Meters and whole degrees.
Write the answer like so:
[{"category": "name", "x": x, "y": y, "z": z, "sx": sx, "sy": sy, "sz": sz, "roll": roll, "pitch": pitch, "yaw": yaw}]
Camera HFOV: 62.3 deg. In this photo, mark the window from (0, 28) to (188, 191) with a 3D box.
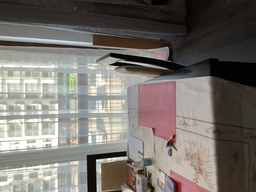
[{"category": "window", "x": -0.700, "y": 0.750, "z": 1.960, "sx": 0.180, "sy": 2.850, "sz": 2.650, "roll": 169, "pitch": 100, "yaw": -68}]
